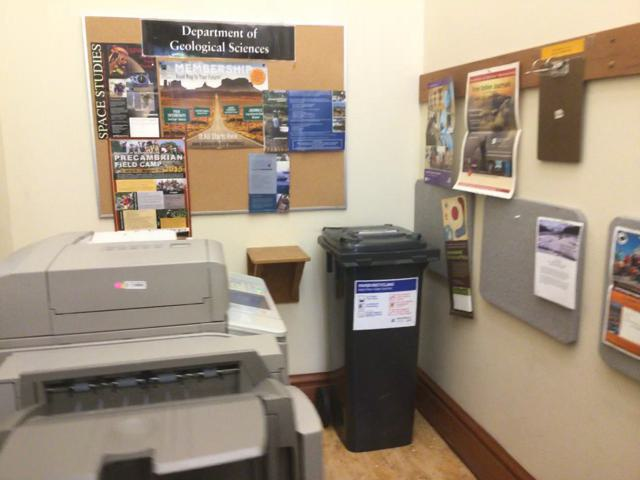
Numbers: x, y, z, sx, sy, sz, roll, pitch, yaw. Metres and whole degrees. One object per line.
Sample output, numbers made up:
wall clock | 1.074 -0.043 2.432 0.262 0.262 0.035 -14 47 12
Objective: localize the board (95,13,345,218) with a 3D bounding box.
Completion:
board | -0.440 -0.540 2.670 1.100 0.860 0.110 0 5 -13

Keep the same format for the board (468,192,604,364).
board | 0.730 0.090 2.070 0.050 0.490 0.690 0 8 -13

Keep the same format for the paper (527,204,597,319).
paper | 0.770 0.060 1.860 0.040 0.330 0.260 0 8 -13

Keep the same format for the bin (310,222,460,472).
bin | 0.280 0.460 2.730 0.540 1.050 0.450 0 8 -13

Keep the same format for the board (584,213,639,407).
board | 0.900 0.210 1.360 0.060 0.490 0.690 0 8 -13
